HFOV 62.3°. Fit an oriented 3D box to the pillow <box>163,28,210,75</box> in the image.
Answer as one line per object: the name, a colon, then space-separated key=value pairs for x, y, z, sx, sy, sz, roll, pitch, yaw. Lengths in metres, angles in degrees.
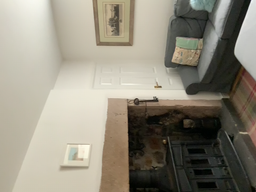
pillow: x=0.850 y=-0.630 z=3.100 sx=0.480 sy=0.470 sz=0.180 roll=43 pitch=-153 yaw=-33

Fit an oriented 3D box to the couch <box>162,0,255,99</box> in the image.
couch: x=1.030 y=-0.840 z=2.820 sx=0.890 sy=0.810 sz=1.570 roll=-93 pitch=3 yaw=-49
